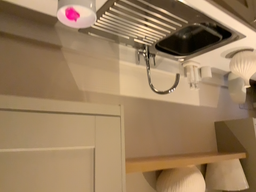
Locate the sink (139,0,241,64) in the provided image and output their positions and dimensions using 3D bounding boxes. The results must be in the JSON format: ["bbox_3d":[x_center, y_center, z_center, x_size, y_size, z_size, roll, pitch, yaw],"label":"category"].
[{"bbox_3d":[0.390,-0.410,1.410,0.400,0.180,0.500,7,165,-37],"label":"sink"}]
